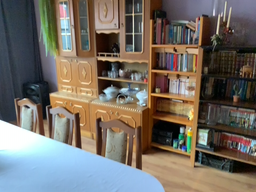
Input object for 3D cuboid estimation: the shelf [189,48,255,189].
[{"bbox_3d":[1.320,0.220,2.200,1.160,1.360,0.440,9,18,31],"label":"shelf"}]
